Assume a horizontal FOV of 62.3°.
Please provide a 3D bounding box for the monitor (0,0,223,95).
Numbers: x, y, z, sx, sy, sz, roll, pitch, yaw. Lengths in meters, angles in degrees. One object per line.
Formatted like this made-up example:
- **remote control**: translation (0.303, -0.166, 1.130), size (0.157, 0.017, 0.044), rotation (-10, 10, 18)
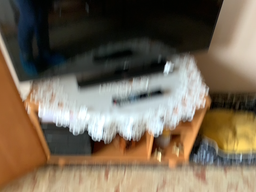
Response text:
- **monitor**: translation (-0.020, -0.340, 0.880), size (0.950, 0.580, 0.060), rotation (-13, 45, -16)
